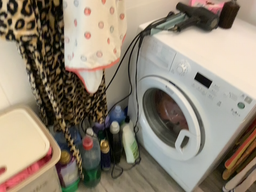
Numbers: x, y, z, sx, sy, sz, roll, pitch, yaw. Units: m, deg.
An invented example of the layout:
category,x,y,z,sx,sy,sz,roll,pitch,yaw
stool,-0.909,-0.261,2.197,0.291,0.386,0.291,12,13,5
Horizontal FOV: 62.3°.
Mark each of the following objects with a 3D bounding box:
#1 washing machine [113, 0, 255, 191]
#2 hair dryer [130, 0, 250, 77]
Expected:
category,x,y,z,sx,sy,sz,roll,pitch,yaw
washing machine,0.380,0.010,1.260,0.640,0.820,0.660,-29,56,-29
hair dryer,0.310,-0.340,1.080,0.500,0.170,0.320,-28,55,-29
